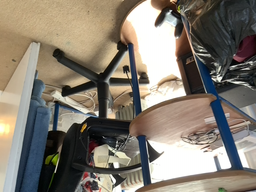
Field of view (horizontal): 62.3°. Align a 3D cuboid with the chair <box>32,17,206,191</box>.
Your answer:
[{"bbox_3d":[-0.140,0.250,1.170,0.620,0.970,0.700,9,146,-24],"label":"chair"}]
